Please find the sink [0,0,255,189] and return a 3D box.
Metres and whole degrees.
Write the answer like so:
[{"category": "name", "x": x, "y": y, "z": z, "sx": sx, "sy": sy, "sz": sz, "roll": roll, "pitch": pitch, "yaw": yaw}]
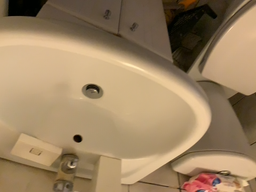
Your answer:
[{"category": "sink", "x": -0.110, "y": 0.020, "z": 0.530, "sx": 0.550, "sy": 0.200, "sz": 0.460, "roll": 17, "pitch": 136, "yaw": -18}]
